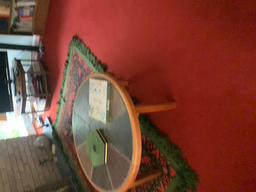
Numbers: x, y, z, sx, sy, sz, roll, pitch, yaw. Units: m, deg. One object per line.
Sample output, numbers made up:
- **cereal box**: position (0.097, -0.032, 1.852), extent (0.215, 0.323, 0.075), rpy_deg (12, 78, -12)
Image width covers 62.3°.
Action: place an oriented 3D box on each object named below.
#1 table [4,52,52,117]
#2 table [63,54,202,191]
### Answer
- **table**: position (-1.660, -0.140, 3.470), extent (0.920, 0.440, 0.900), rpy_deg (-9, 86, 51)
- **table**: position (-0.070, 0.250, 1.560), extent (0.810, 0.410, 0.830), rpy_deg (42, 125, 40)
